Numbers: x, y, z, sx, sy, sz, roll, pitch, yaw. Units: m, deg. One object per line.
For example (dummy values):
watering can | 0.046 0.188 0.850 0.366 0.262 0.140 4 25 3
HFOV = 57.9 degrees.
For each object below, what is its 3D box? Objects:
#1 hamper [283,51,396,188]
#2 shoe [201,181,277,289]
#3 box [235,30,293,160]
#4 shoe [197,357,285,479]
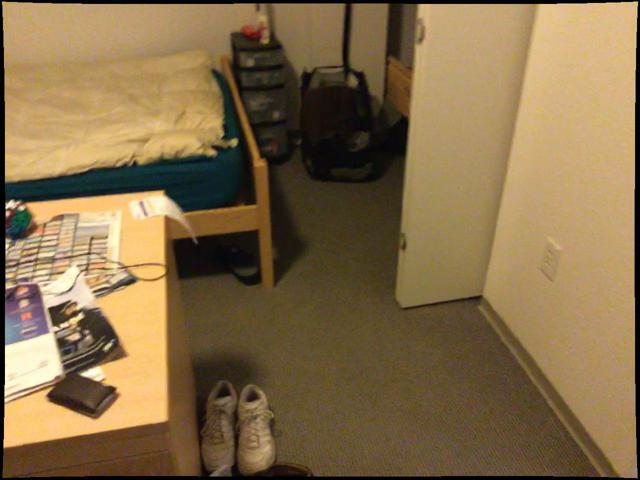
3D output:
hamper | 0.080 -0.661 3.100 0.440 0.510 0.570 -7 35 -12
shoe | -0.360 -0.040 2.500 0.250 0.170 0.550 -7 35 -12
box | -0.300 -0.781 3.110 0.230 0.570 0.370 -7 35 -12
shoe | -0.240 0.521 1.710 0.210 0.120 0.320 -7 35 -12
